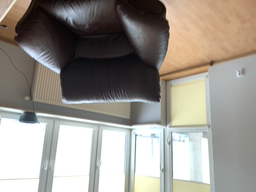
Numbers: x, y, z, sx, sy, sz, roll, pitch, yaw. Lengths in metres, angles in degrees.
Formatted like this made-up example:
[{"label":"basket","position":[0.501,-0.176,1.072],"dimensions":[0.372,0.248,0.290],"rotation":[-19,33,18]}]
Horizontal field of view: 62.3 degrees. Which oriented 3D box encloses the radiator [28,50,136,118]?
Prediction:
[{"label":"radiator","position":[-0.610,-0.090,3.580],"dimensions":[0.250,0.660,1.910],"rotation":[-12,160,43]}]
